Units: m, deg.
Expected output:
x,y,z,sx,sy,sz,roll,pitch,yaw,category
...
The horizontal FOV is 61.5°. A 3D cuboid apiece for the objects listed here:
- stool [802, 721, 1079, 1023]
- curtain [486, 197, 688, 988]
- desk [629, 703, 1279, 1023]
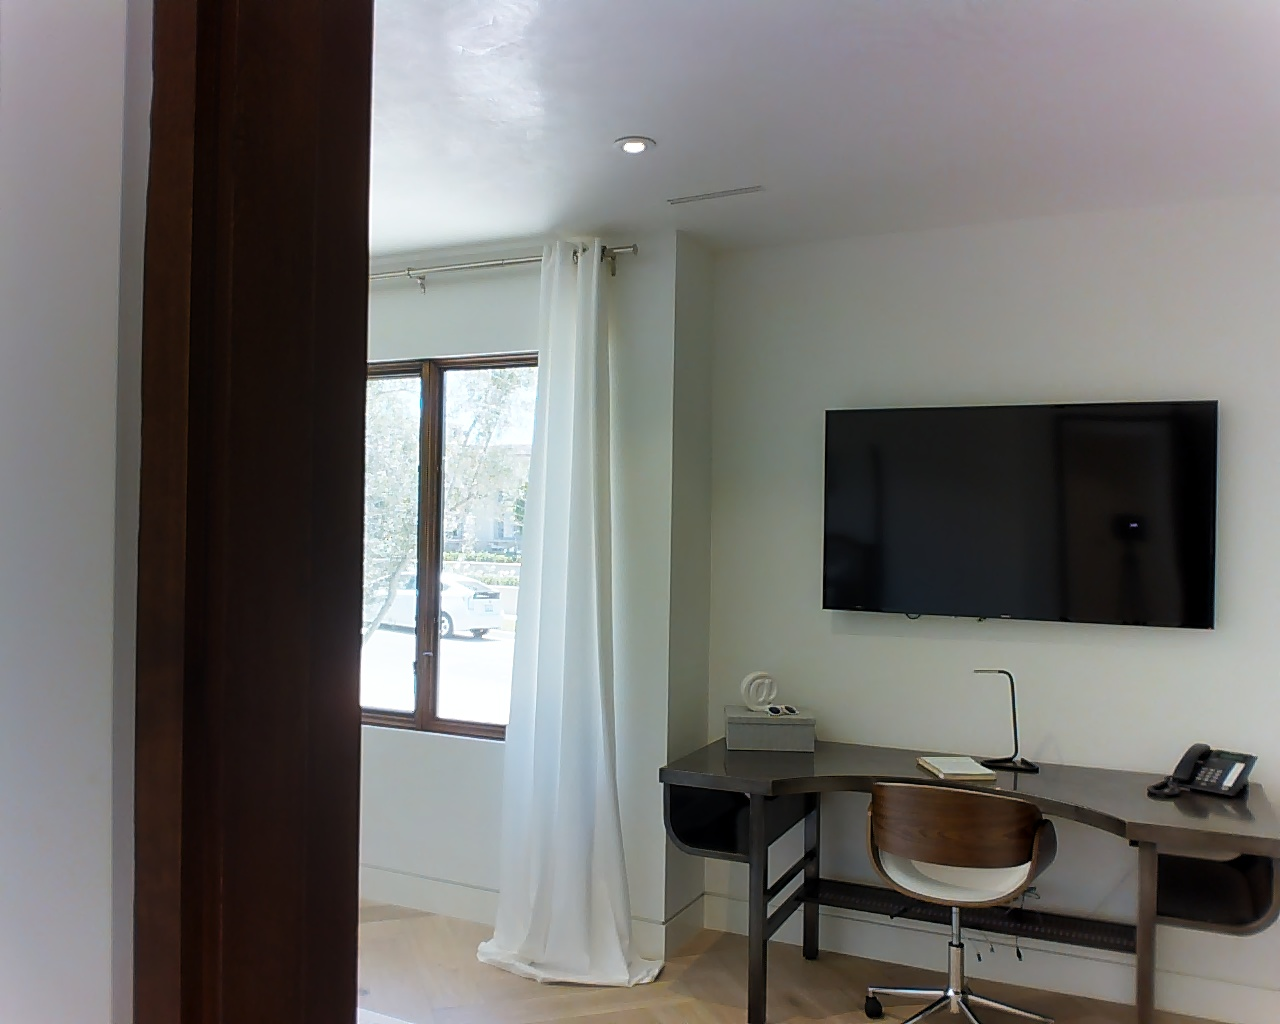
x,y,z,sx,sy,sz,roll,pitch,yaw,category
1.020,1.250,3.580,0.760,0.920,0.710,1,-1,26,stool
-0.200,0.280,4.130,0.620,2.810,0.370,1,-1,27,curtain
1.090,1.250,3.640,2.060,0.890,0.880,1,-1,26,desk
